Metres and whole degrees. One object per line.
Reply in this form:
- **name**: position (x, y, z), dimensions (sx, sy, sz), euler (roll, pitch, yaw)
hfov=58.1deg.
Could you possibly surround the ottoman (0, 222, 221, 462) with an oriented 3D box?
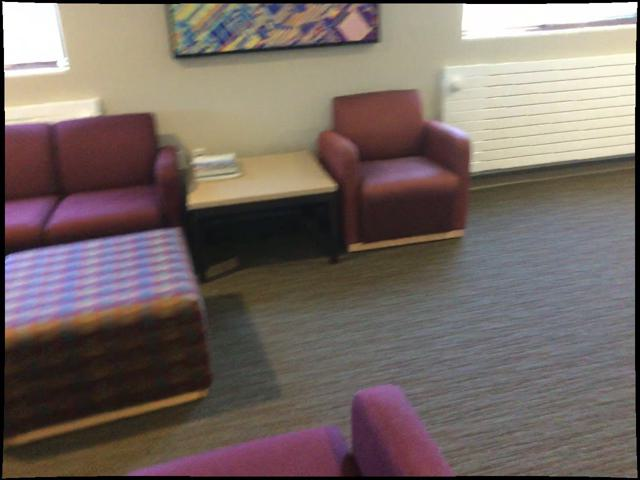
- **ottoman**: position (-0.888, 0.351, 2.340), dimensions (0.838, 0.461, 0.810), euler (-9, 26, -11)
